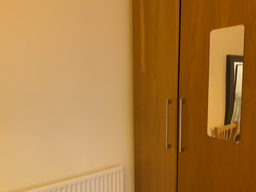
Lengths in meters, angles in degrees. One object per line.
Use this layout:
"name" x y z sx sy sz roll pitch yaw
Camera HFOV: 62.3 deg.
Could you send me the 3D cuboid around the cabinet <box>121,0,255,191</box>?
"cabinet" 0.400 0.150 1.300 0.370 2.370 1.060 -5 8 -32
